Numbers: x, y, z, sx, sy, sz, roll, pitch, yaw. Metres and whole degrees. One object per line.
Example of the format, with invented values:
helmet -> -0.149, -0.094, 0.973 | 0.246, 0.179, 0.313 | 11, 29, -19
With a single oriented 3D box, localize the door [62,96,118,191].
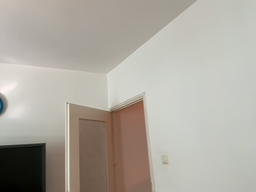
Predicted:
door -> -0.370, 1.120, 2.350 | 0.050, 2.140, 0.920 | -11, -14, 26
